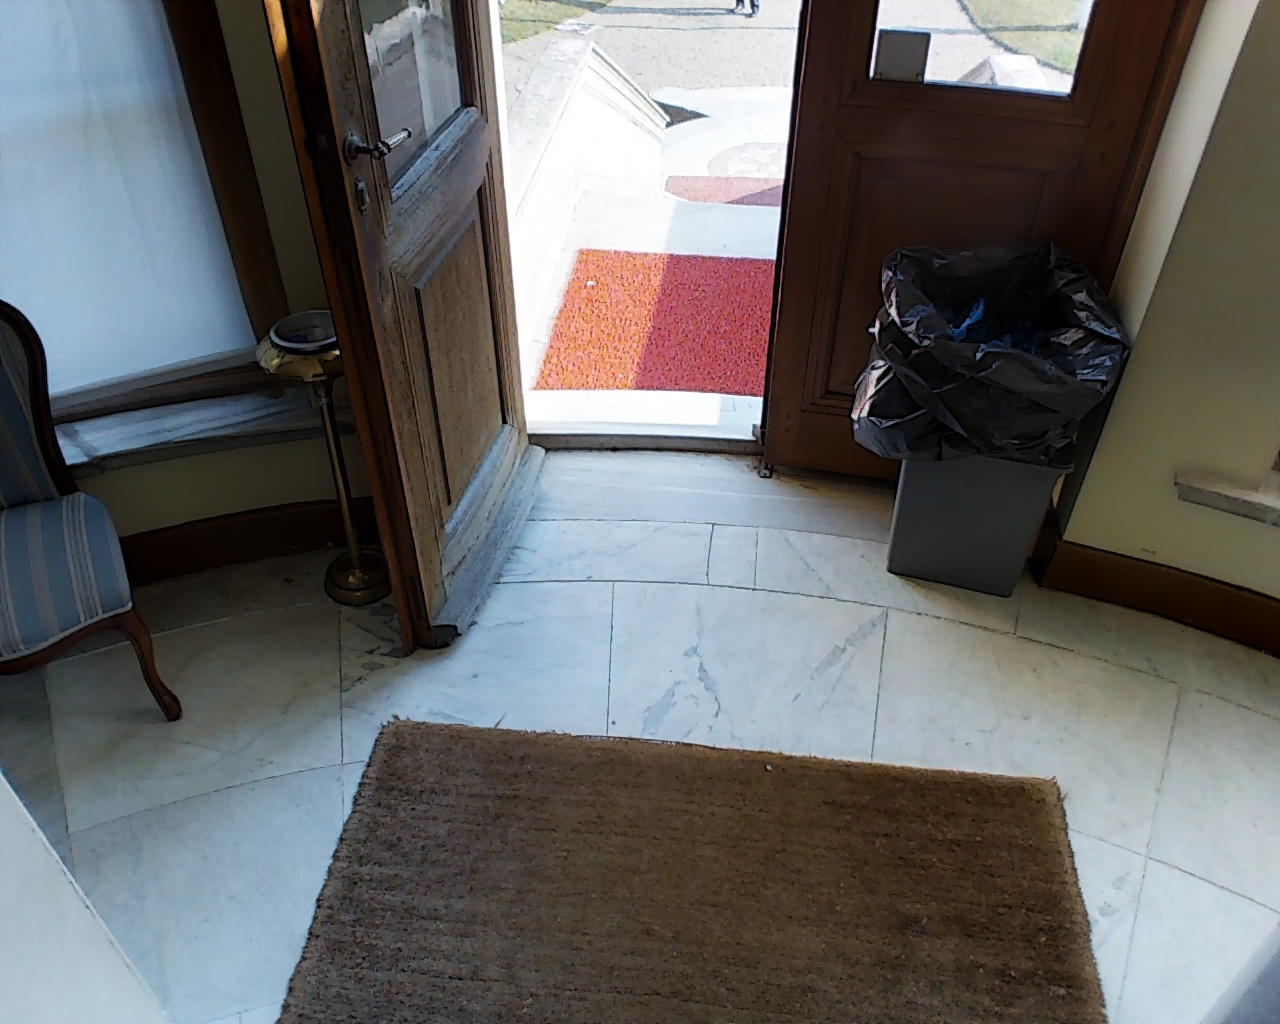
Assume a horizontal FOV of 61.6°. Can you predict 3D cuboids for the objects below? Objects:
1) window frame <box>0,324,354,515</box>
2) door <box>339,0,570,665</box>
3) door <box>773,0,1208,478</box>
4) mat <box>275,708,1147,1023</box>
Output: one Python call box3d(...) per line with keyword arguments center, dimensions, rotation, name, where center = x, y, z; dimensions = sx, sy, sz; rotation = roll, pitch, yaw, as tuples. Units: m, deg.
box3d(center=(-1.490, -0.140, 2.540), dimensions=(1.560, 0.180, 0.210), rotation=(-17, 44, -19), name="window frame")
box3d(center=(-0.350, -1.000, 2.060), dimensions=(0.140, 2.990, 0.800), rotation=(6, 42, 7), name="door")
box3d(center=(0.790, -1.230, 2.240), dimensions=(0.790, 2.770, 0.170), rotation=(5, 42, 6), name="door")
box3d(center=(0.160, 0.840, 2.230), dimensions=(1.650, 0.040, 0.880), rotation=(4, 41, 5), name="mat")
